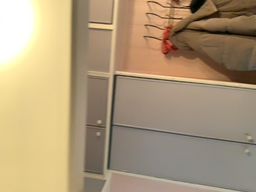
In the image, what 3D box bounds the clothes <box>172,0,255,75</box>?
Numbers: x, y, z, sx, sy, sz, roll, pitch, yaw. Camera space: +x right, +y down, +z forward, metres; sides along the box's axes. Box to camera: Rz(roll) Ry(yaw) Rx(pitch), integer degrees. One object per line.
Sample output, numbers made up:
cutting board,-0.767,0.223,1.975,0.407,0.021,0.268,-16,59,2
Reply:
clothes,0.820,-0.390,1.440,0.390,0.960,0.430,-61,-24,-73
